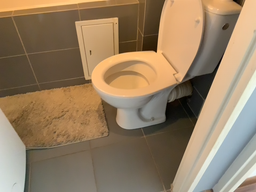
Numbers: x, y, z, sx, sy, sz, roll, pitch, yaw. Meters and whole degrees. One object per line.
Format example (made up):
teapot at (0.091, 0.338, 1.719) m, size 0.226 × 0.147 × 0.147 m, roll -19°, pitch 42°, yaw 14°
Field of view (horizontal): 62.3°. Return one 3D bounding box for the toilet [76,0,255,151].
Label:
toilet at (0.110, -0.160, 1.140) m, size 0.640 × 0.790 × 0.420 m, roll -10°, pitch 48°, yaw -12°
